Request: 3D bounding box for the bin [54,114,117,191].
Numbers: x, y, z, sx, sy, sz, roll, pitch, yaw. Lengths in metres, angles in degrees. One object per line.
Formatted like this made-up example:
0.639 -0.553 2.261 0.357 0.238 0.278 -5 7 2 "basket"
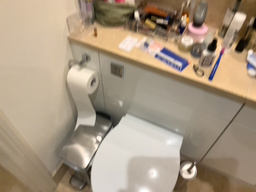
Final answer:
-0.220 0.340 1.240 0.210 0.340 0.270 21 54 13 "bin"
